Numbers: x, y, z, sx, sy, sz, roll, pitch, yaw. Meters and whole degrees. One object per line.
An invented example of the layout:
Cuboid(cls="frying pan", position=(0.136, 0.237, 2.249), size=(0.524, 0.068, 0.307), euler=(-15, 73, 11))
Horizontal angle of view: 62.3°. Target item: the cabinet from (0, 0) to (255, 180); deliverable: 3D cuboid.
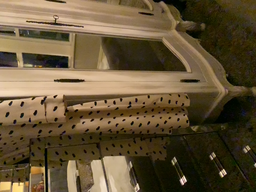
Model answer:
Cuboid(cls="cabinet", position=(-0.710, -0.730, 1.730), size=(0.700, 2.270, 2.540), euler=(110, 149, -41))
